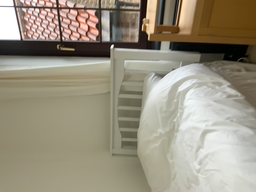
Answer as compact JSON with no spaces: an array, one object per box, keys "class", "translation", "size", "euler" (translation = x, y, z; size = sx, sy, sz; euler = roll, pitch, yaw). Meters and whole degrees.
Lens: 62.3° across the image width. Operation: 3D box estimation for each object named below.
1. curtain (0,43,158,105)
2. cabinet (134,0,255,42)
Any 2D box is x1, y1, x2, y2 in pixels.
[{"class":"curtain","translation":[-0.700,-0.160,1.580],"size":[0.120,1.800,0.420],"euler":[-97,9,-61]},{"class":"cabinet","translation":[0.480,-0.540,1.210],"size":[0.350,0.840,0.350],"euler":[-97,9,-60]}]
